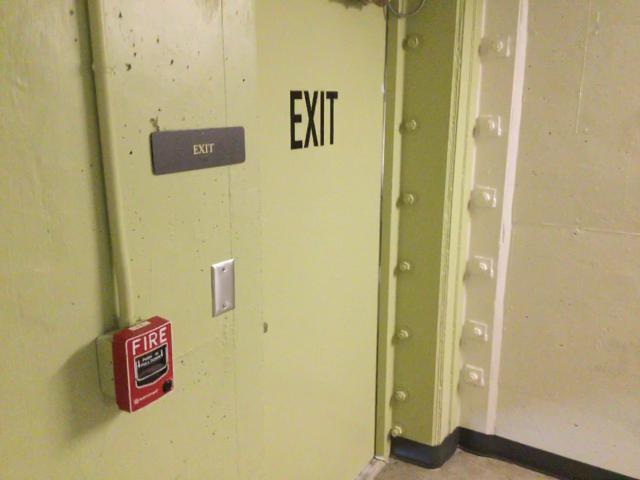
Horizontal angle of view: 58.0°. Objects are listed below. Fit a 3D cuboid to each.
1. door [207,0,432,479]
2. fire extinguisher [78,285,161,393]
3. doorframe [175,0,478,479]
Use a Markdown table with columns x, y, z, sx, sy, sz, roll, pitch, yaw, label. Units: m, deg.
| x | y | z | sx | sy | sz | roll | pitch | yaw | label |
| --- | --- | --- | --- | --- | --- | --- | --- | --- | --- |
| 0.040 | 0.050 | 1.940 | 0.140 | 2.040 | 1.040 | 10 | 13 | 31 | door |
| -0.330 | 0.160 | 0.960 | 0.080 | 0.140 | 0.100 | 10 | 13 | 31 | fire extinguisher |
| 0.090 | 0.020 | 1.840 | 0.290 | 2.110 | 1.210 | 10 | 13 | 31 | doorframe |
